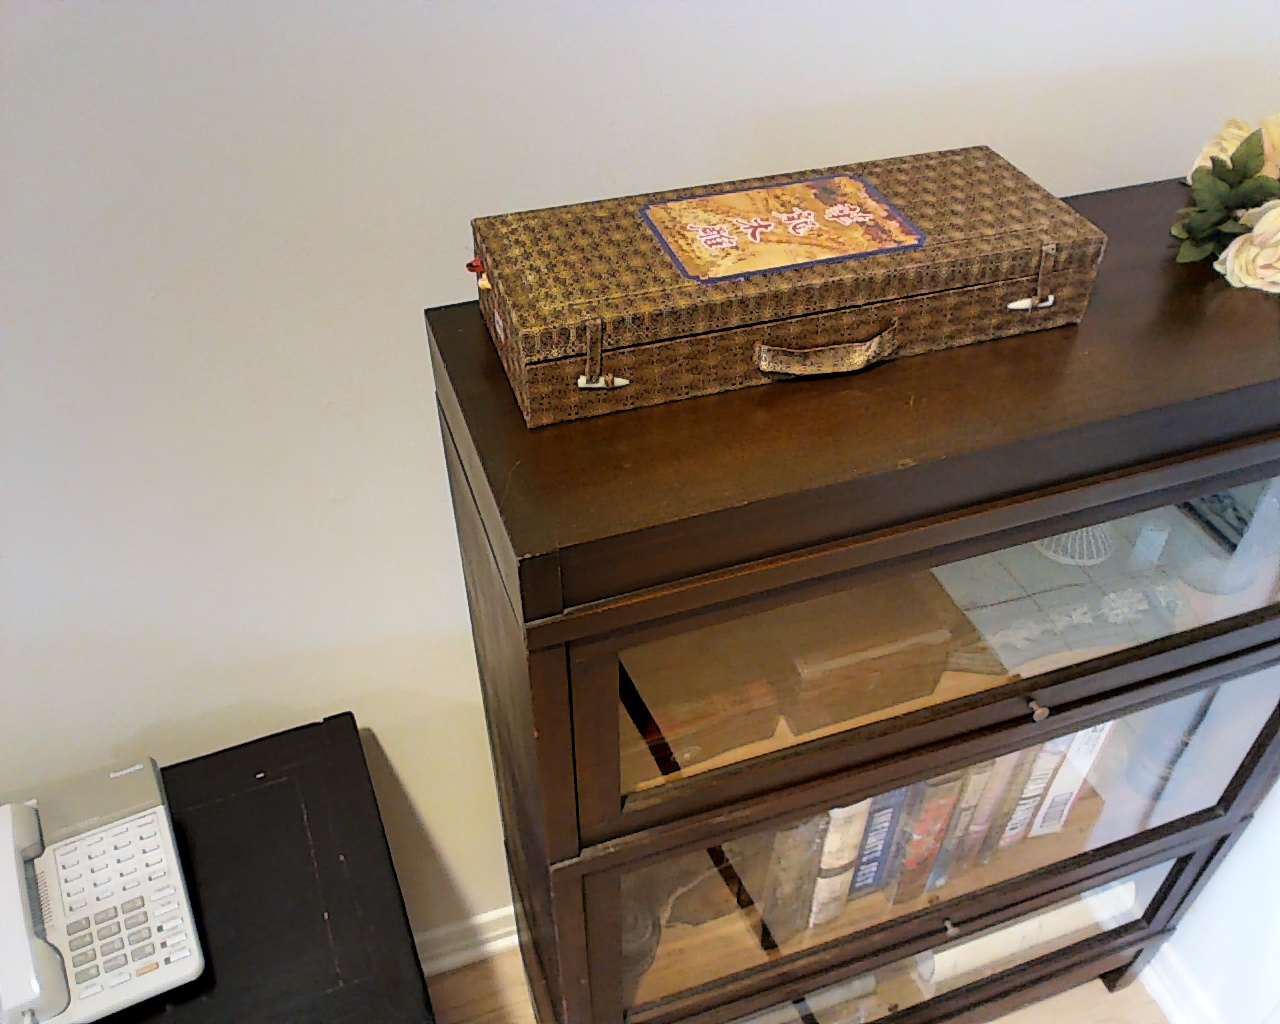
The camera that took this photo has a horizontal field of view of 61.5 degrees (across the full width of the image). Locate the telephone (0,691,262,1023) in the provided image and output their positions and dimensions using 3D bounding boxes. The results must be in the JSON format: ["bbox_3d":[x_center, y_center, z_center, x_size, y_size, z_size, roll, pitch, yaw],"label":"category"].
[{"bbox_3d":[-0.510,0.360,1.010,0.220,0.140,0.310,-17,45,-18],"label":"telephone"}]
